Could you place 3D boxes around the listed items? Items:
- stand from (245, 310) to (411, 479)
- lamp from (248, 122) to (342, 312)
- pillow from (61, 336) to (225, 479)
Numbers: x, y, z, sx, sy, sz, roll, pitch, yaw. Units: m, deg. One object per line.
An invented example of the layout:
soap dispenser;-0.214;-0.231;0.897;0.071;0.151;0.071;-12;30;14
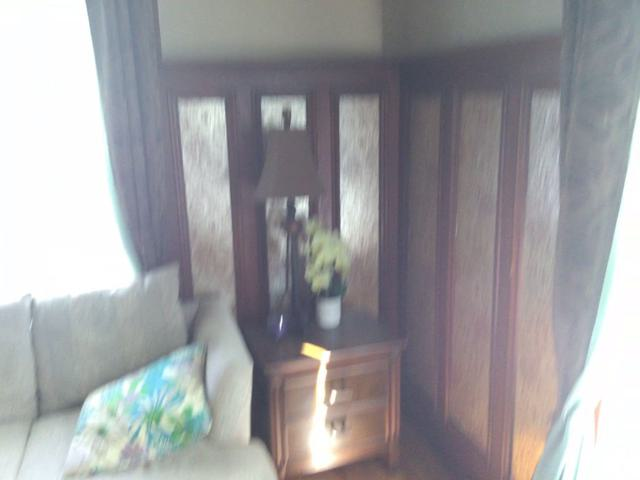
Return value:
stand;0.010;0.650;2.500;0.580;0.560;0.490;-2;7;-18
lamp;-0.110;-0.100;2.360;0.300;0.710;0.330;-2;6;-18
pillow;-0.600;0.540;1.980;0.470;0.270;0.480;-2;6;-18
